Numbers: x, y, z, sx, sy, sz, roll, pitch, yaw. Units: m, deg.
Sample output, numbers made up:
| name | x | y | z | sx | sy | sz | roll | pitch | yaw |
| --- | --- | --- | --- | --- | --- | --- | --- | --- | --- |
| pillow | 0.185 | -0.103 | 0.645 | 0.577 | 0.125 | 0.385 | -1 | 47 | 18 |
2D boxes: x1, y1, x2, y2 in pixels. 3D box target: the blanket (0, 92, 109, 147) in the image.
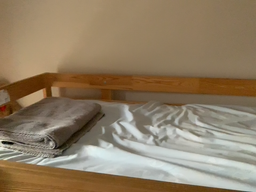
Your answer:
| name | x | y | z | sx | sy | sz | roll | pitch | yaw |
| --- | --- | --- | --- | --- | --- | --- | --- | --- | --- |
| blanket | -0.350 | 0.080 | 1.000 | 0.470 | 0.420 | 0.080 | -55 | 147 | -74 |
